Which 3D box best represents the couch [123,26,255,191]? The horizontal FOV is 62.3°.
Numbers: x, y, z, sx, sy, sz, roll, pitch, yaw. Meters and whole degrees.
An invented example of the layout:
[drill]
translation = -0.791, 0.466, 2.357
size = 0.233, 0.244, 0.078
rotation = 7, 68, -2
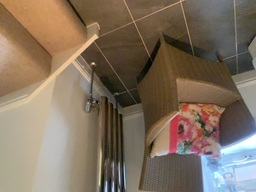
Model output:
[couch]
translation = 0.400, 0.130, 1.430
size = 0.620, 0.860, 0.620
rotation = 14, 138, -22
